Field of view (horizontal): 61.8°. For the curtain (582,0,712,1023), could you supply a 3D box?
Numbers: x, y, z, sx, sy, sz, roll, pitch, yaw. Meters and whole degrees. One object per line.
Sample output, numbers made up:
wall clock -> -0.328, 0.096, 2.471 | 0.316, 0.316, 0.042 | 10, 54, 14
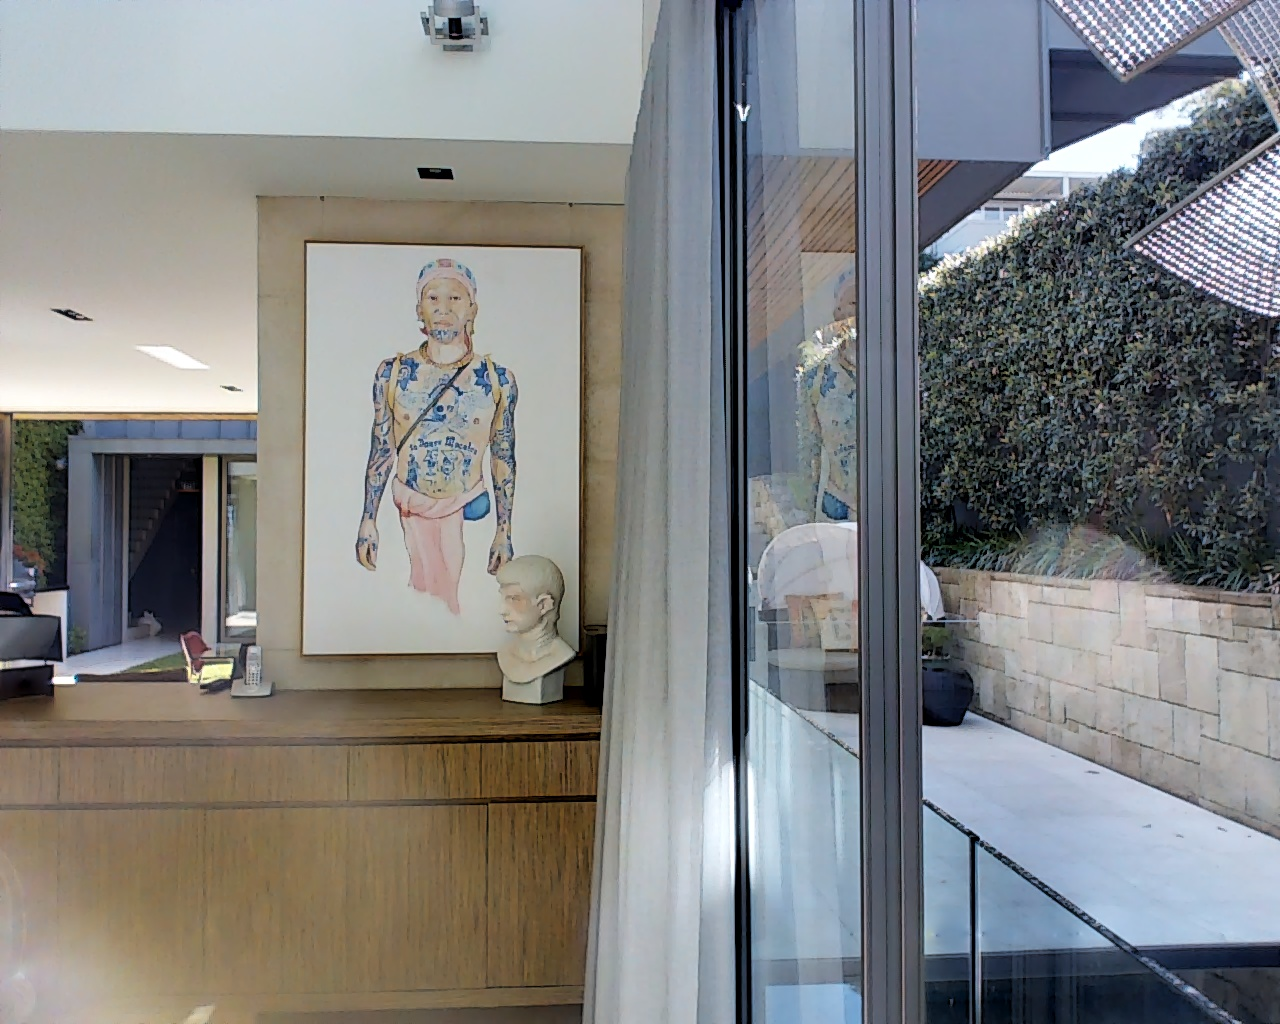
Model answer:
curtain -> -0.010, 0.260, 2.310 | 0.190, 2.651, 0.820 | 0, -1, -6
